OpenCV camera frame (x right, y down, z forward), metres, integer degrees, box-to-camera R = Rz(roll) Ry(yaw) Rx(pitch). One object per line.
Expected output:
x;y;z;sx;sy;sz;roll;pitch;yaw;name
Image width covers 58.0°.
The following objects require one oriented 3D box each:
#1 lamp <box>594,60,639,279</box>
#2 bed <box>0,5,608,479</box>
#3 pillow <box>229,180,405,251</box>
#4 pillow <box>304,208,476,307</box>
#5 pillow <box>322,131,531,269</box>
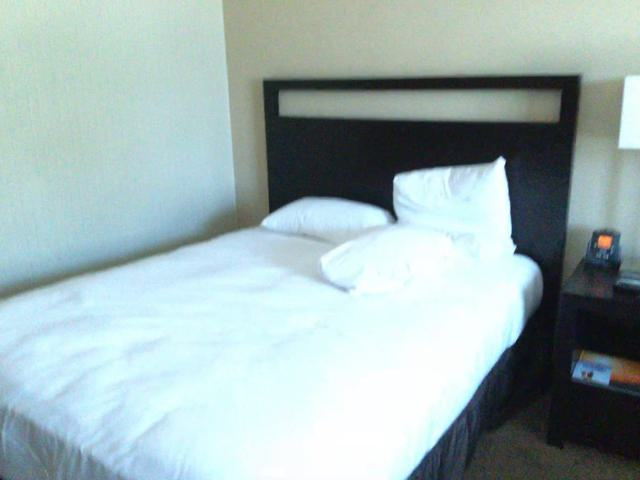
1.320;-0.250;2.100;0.450;0.770;0.310;11;18;34;lamp
-0.150;0.090;2.170;1.720;1.480;2.050;11;18;34;bed
-0.020;-0.150;2.960;0.770;0.190;0.460;11;18;34;pillow
0.290;0.040;2.260;0.410;0.180;0.620;11;18;34;pillow
0.460;-0.220;2.590;0.780;0.470;0.450;11;18;34;pillow
